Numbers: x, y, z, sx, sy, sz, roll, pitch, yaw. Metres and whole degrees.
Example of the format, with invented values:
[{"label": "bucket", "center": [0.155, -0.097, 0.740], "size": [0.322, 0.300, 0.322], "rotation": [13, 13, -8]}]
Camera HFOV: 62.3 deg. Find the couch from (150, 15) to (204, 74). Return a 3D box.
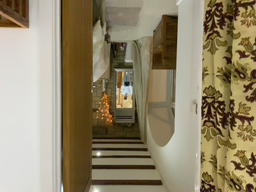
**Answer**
[{"label": "couch", "center": [0.720, -0.750, 3.420], "size": [0.580, 0.760, 1.060], "rotation": [0, -176, -2]}]
